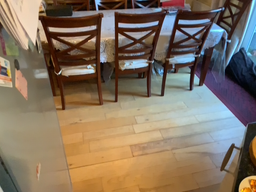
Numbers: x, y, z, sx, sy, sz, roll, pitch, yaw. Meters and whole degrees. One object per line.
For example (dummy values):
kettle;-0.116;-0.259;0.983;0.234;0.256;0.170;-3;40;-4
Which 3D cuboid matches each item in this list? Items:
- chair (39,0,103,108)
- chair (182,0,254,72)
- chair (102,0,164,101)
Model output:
chair;-0.560;-0.460;2.300;0.480;1.020;0.550;-5;37;-9
chair;1.230;-0.940;3.020;0.550;1.030;0.480;-10;38;-16
chair;0.010;-0.550;2.430;0.480;1.030;0.550;-9;37;-14
